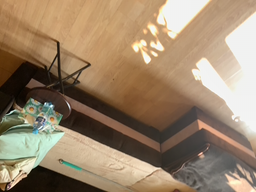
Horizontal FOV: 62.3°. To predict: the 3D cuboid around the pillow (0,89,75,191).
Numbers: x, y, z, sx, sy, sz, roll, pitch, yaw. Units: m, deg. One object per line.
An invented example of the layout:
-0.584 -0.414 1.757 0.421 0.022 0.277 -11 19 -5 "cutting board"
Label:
-0.860 0.470 1.680 0.480 0.500 0.830 26 131 -17 "pillow"
